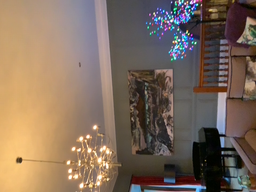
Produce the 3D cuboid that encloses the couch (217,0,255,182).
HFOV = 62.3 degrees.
[{"bbox_3d":[1.830,-0.170,2.880,1.070,0.770,2.350,-61,-30,-71],"label":"couch"}]
